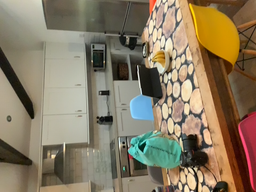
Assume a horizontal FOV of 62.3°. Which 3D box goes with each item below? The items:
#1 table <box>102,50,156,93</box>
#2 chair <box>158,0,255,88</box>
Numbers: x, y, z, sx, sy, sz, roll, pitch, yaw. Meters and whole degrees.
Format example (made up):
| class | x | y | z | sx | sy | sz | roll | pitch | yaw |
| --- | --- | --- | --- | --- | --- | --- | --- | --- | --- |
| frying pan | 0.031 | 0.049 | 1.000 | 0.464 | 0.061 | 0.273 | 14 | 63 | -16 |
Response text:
| class | x | y | z | sx | sy | sz | roll | pitch | yaw |
| --- | --- | --- | --- | --- | --- | --- | --- | --- | --- |
| table | -0.020 | -0.470 | 4.210 | 0.640 | 0.890 | 0.590 | 120 | 146 | -65 |
| chair | 0.700 | -0.350 | 1.550 | 0.510 | 0.780 | 0.420 | 123 | 143 | -67 |
